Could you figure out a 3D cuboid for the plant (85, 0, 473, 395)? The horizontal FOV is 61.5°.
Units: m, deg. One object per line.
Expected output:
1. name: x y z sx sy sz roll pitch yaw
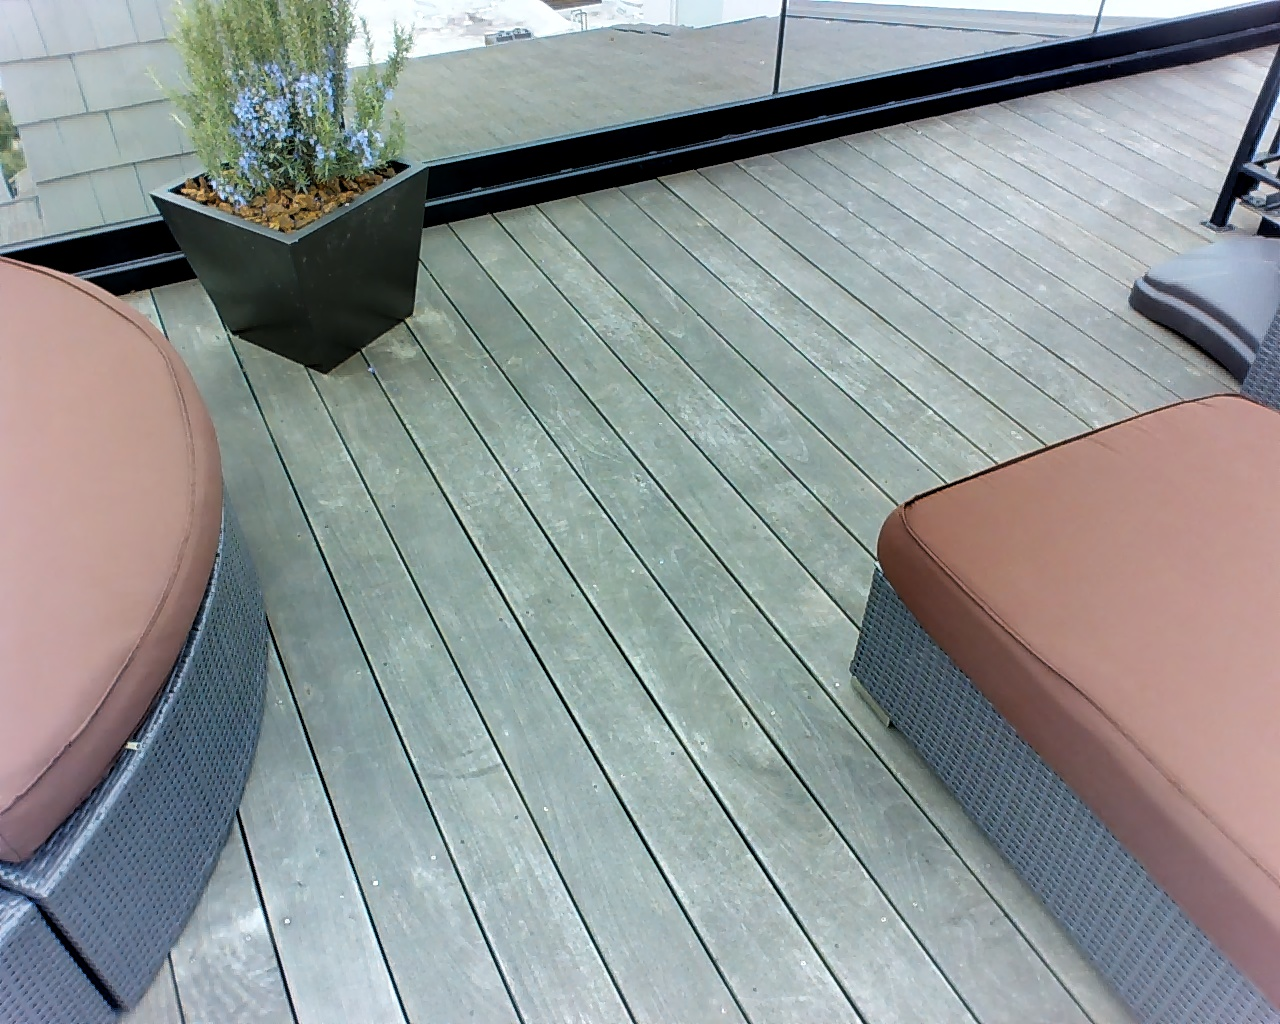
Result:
1. plant: -0.790 -0.830 2.540 0.430 0.840 0.570 24 48 24
